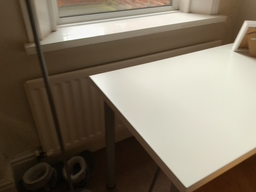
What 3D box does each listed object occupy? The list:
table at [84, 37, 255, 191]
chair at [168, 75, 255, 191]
[{"bbox_3d":[0.400,0.200,1.120,1.020,0.700,0.630,-17,39,-25],"label":"table"},{"bbox_3d":[0.400,0.380,0.770,0.360,0.800,0.420,0,34,-2],"label":"chair"}]
